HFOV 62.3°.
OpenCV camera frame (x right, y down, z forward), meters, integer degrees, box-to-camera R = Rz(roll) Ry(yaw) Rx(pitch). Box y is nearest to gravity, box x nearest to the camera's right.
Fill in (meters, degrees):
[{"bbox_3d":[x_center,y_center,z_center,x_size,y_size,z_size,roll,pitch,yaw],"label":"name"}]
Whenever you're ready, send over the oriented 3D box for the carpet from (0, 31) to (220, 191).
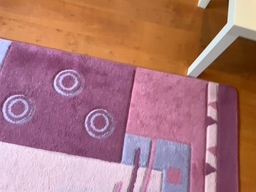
[{"bbox_3d":[-0.490,0.380,0.900,1.840,0.020,1.450,9,70,-4],"label":"carpet"}]
